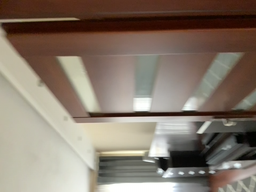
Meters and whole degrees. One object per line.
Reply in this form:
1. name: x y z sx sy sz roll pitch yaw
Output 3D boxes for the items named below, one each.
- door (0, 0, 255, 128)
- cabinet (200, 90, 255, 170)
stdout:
1. door: 0.620 -0.130 0.840 1.120 2.150 0.150 89 180 -64
2. cabinet: 1.460 0.530 2.900 1.230 0.480 0.710 89 180 -61
